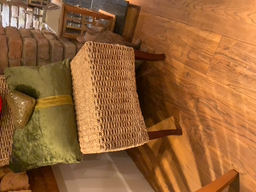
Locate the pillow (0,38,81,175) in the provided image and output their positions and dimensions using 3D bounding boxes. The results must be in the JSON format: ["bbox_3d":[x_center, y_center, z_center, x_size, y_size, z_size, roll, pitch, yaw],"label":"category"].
[{"bbox_3d":[-0.410,0.060,1.010,0.180,0.320,0.560,-22,66,49],"label":"pillow"}]

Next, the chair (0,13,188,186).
[{"bbox_3d":[-0.350,0.060,1.050,0.600,1.070,0.560,-25,70,53],"label":"chair"}]
